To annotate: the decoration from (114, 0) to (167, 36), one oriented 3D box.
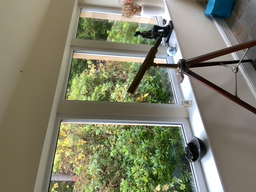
[{"bbox_3d":[0.160,-1.220,3.170,0.230,0.690,0.510,-95,12,-45],"label":"decoration"}]
